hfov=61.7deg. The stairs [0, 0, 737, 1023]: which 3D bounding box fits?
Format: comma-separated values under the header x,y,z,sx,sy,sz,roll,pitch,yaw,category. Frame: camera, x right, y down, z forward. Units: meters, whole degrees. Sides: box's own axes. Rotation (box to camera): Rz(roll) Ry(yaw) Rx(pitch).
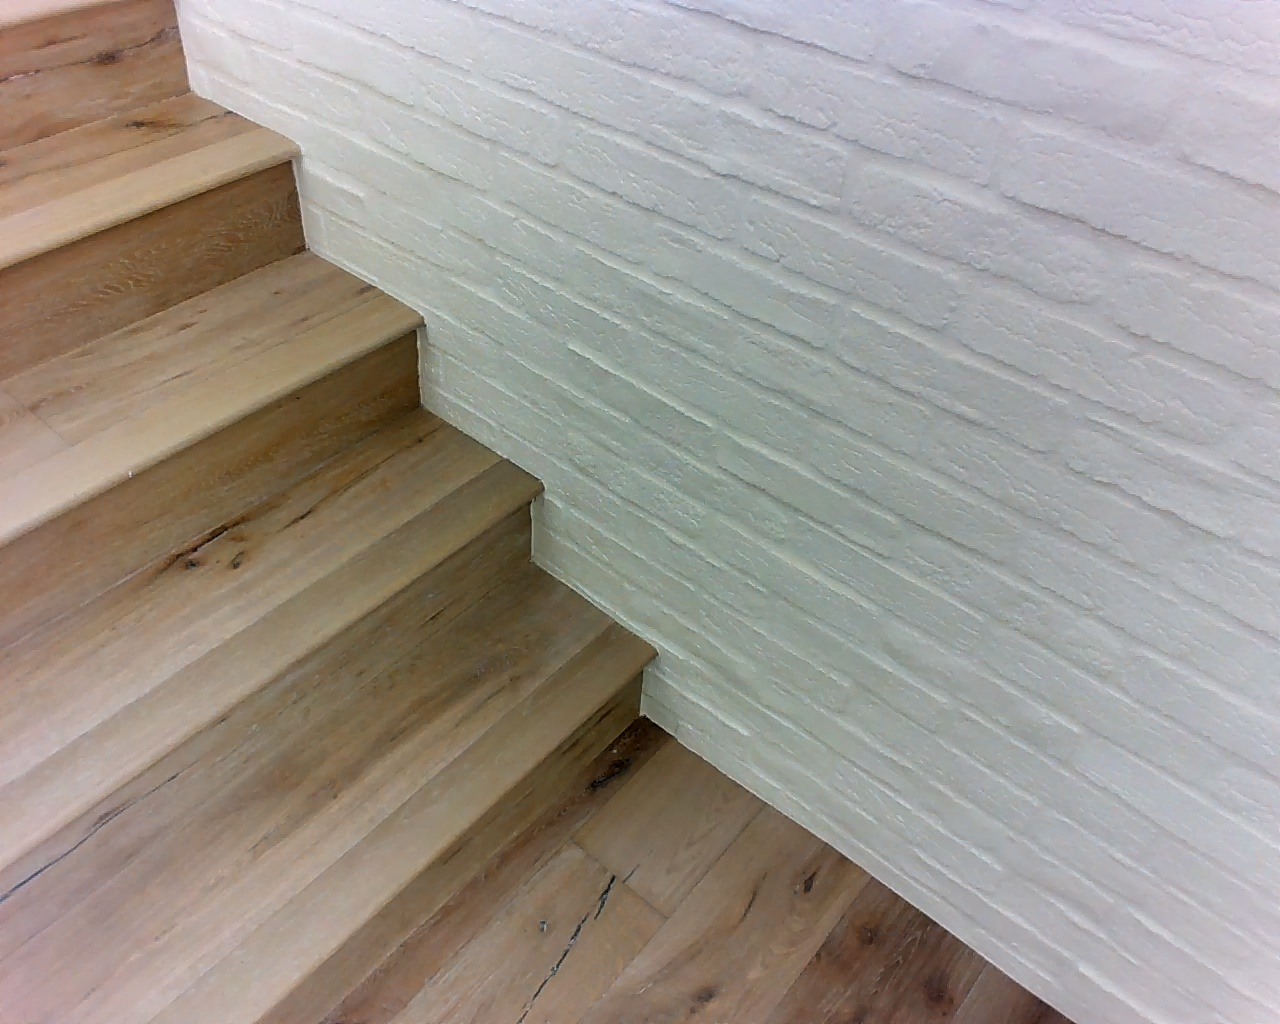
x,y,z,sx,sy,sz,roll,pitch,yaw,category
-0.880,-0.010,1.520,1.590,1.450,1.050,32,50,29,stairs
